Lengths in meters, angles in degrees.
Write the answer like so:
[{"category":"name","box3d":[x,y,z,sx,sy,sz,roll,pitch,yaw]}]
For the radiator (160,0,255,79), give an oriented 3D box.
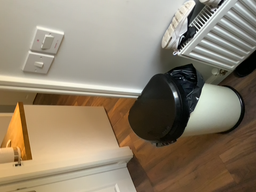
[{"category":"radiator","box3d":[0.520,-0.360,0.900,0.590,0.560,0.120,-54,50,31]}]
